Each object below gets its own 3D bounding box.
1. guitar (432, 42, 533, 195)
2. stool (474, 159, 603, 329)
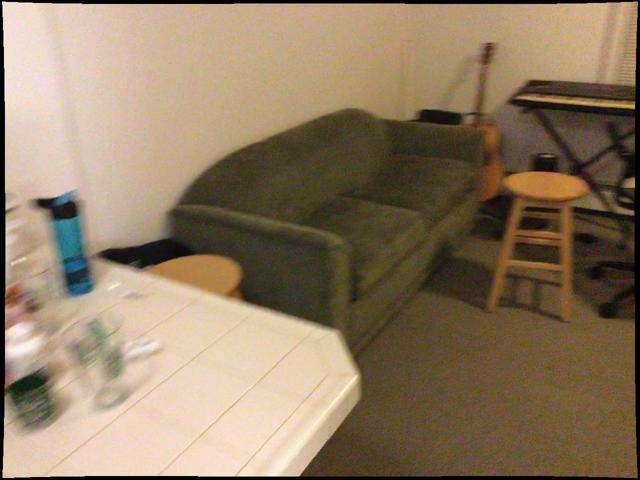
[{"bbox_3d":[1.019,-0.781,3.640,0.410,0.801,0.530,13,30,28],"label":"guitar"},{"bbox_3d":[1.019,0.000,2.710,0.410,0.590,0.460,13,30,28],"label":"stool"}]
